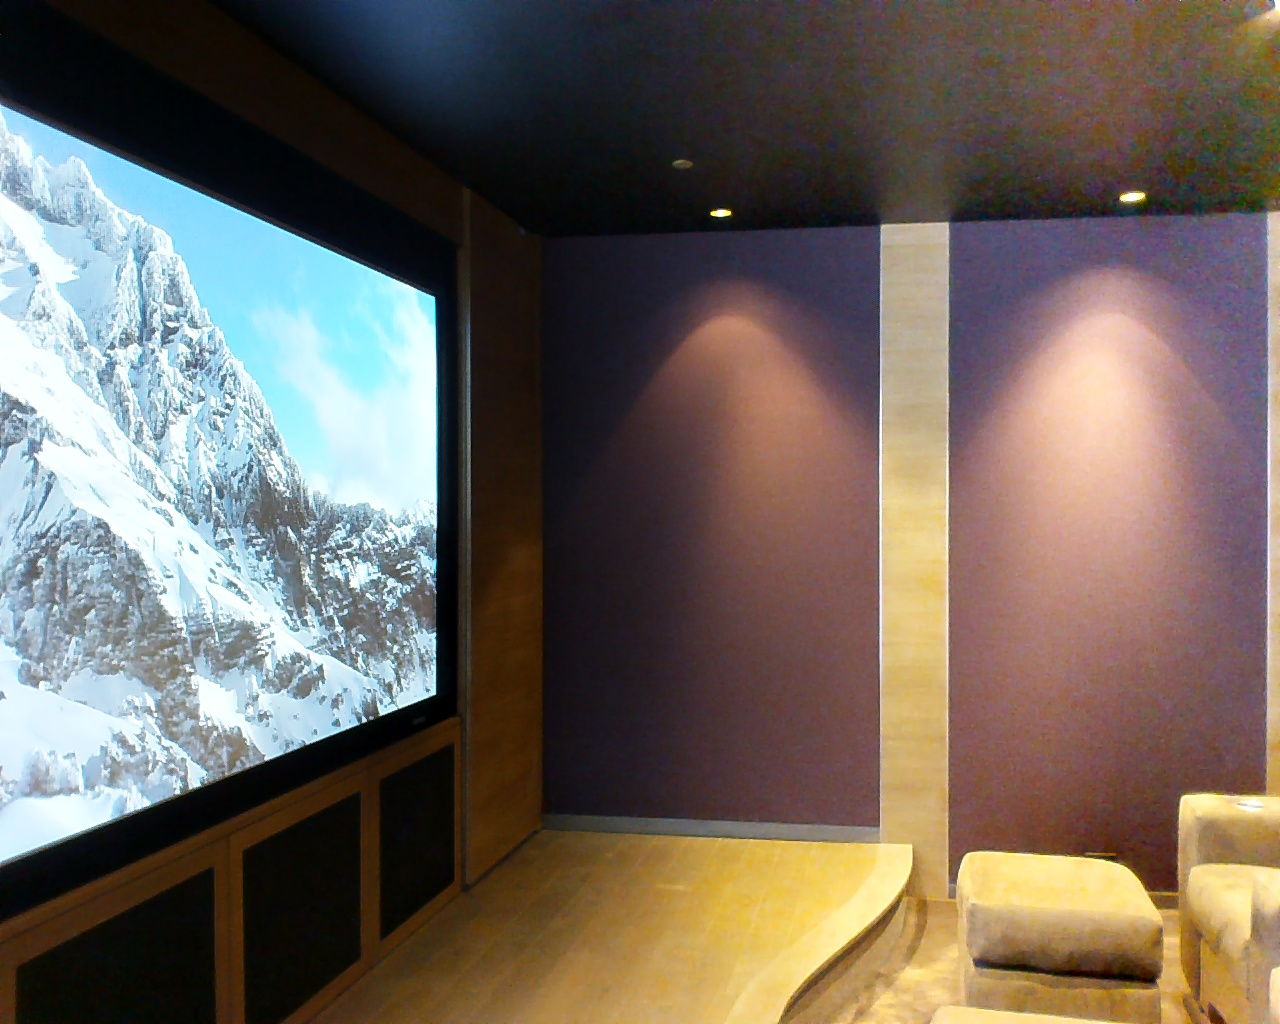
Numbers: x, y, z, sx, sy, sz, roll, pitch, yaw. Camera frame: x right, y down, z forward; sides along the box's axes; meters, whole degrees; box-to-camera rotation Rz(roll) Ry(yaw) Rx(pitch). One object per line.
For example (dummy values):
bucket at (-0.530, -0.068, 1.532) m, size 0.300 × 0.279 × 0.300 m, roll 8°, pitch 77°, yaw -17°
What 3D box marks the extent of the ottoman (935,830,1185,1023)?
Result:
ottoman at (1.150, 1.260, 3.050) m, size 0.580 × 0.510 × 0.580 m, roll 0°, pitch 0°, yaw 13°
